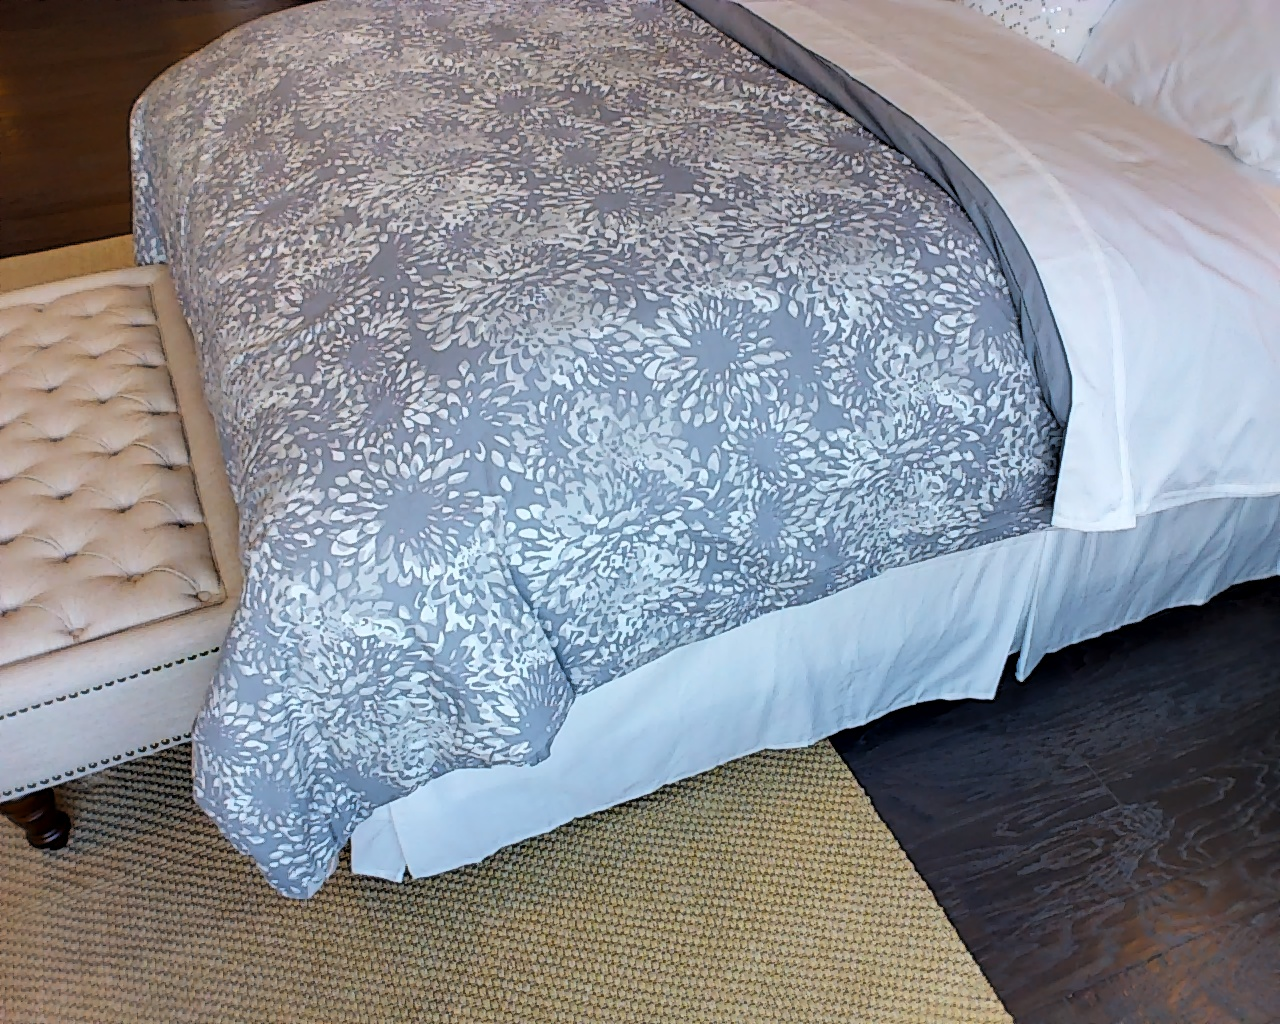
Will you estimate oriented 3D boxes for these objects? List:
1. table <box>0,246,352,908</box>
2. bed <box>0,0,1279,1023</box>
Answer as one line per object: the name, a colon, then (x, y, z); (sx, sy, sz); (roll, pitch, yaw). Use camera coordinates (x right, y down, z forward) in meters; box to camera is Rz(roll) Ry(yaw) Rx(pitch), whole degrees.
table: (-0.900, 0.020, 1.790); (0.520, 0.400, 1.050); (-17, 45, -18)
bed: (0.210, -0.600, 1.910); (2.230, 1.170, 1.880); (-15, 44, -17)
